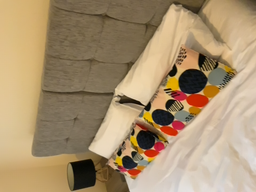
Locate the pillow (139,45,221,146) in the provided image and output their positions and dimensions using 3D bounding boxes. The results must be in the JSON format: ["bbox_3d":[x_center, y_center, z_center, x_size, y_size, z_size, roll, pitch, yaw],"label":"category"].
[{"bbox_3d":[0.260,0.010,1.130,0.110,0.250,0.530,38,129,17],"label":"pillow"}]

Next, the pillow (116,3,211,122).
[{"bbox_3d":[0.180,-0.170,1.170,0.140,0.330,0.610,37,129,14],"label":"pillow"}]

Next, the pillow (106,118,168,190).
[{"bbox_3d":[0.050,0.440,1.560,0.140,0.220,0.590,44,131,22],"label":"pillow"}]

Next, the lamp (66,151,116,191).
[{"bbox_3d":[-0.370,0.750,2.050,0.250,0.380,0.300,-61,38,42],"label":"lamp"}]
